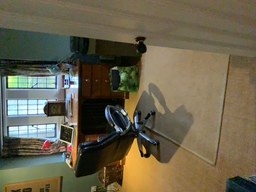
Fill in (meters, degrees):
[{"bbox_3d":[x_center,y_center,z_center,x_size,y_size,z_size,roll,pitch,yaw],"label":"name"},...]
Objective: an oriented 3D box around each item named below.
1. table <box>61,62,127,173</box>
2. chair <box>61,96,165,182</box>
[{"bbox_3d":[-0.640,0.270,3.660,0.930,0.840,1.640,15,104,62],"label":"table"},{"bbox_3d":[-0.240,0.490,2.700,0.720,1.030,0.640,63,143,40],"label":"chair"}]
